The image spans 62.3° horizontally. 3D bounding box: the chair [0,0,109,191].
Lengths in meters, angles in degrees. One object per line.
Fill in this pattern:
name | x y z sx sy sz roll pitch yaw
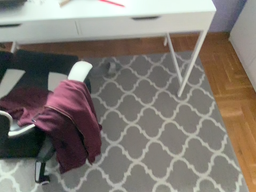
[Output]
chair | -0.540 -0.040 0.920 0.730 1.210 0.770 7 57 2
